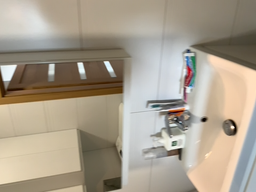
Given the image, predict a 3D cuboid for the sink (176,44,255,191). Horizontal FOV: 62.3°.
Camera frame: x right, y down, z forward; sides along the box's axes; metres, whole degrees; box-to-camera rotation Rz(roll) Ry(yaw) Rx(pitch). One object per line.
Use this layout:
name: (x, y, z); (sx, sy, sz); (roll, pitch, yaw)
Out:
sink: (0.400, 0.130, 0.900); (0.380, 0.150, 0.620); (-125, 33, -61)
